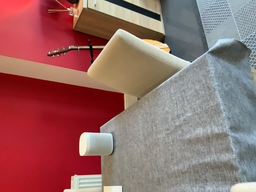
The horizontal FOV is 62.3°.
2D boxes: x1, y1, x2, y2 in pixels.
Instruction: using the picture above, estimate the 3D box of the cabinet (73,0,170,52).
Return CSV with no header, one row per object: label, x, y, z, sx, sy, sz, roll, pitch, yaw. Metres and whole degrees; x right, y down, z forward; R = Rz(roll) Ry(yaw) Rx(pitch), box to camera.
cabinet,-0.060,-0.860,2.140,0.350,0.880,0.500,-36,51,52
